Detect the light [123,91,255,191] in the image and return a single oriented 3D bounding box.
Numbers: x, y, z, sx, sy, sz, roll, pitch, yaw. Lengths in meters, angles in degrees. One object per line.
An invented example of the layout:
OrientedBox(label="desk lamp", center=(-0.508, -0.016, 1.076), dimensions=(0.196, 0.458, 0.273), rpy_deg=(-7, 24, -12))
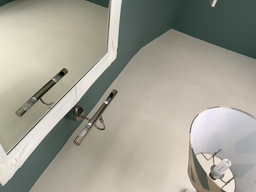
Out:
OrientedBox(label="light", center=(0.330, 0.330, 0.930), dimensions=(0.480, 0.430, 0.480), rpy_deg=(8, -46, -27))
